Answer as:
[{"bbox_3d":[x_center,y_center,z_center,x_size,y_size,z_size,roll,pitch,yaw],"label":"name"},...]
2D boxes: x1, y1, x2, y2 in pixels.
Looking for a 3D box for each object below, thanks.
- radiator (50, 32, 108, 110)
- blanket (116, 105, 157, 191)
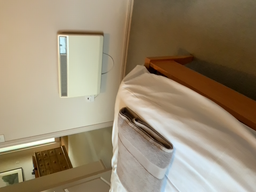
[{"bbox_3d":[-0.480,-0.240,2.090,0.150,0.490,0.720,44,134,49],"label":"radiator"},{"bbox_3d":[0.030,0.320,1.060,0.450,0.100,0.480,-145,50,-79],"label":"blanket"}]
